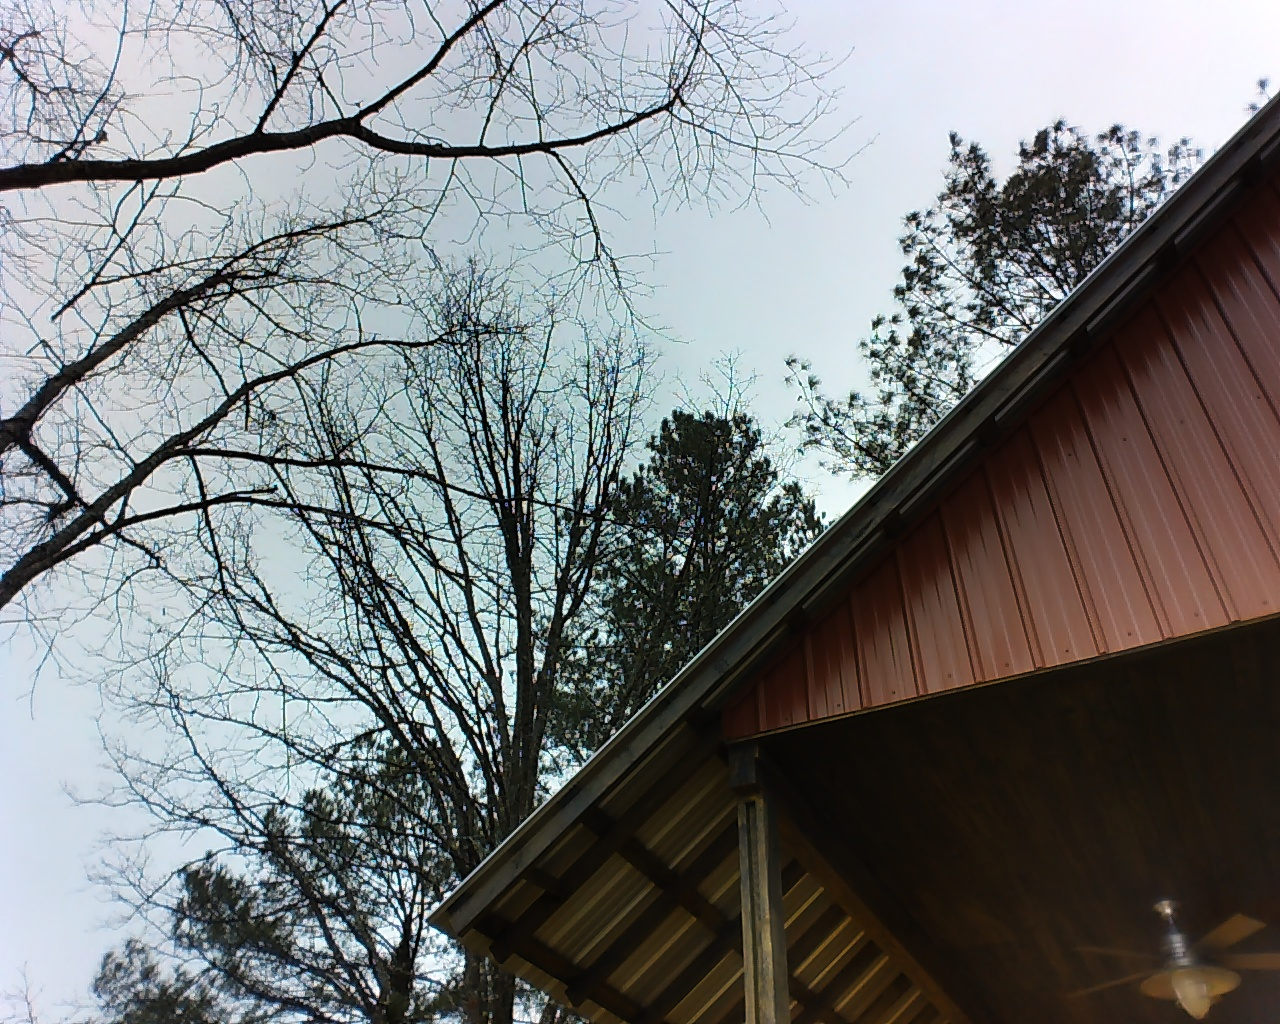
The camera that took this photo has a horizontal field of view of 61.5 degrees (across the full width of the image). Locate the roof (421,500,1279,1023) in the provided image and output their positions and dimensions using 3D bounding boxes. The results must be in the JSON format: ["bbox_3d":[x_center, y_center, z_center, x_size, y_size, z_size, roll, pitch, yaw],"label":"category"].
[{"bbox_3d":[2.340,2.590,5.910,4.170,5.890,1.180,-18,44,21],"label":"roof"}]

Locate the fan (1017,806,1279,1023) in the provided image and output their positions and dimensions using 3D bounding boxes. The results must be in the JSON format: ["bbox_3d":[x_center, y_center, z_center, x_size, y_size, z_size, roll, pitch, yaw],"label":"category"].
[{"bbox_3d":[2.920,2.460,5.620,1.420,1.390,0.640,-34,41,4],"label":"fan"}]
